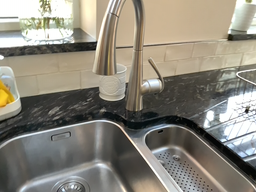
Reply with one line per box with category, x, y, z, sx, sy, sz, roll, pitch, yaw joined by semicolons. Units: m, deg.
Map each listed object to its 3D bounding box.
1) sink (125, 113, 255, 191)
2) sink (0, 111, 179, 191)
sink;0.170;0.220;0.610;0.220;0.140;0.360;-9;31;-24
sink;-0.110;0.270;0.540;0.360;0.200;0.450;-9;31;-24
